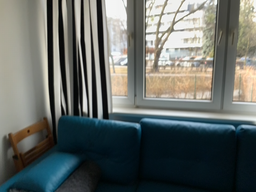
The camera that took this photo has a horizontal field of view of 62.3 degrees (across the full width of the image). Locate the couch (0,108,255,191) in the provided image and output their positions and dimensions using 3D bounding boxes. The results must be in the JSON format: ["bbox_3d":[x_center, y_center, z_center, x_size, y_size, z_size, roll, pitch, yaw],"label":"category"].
[{"bbox_3d":[0.360,0.720,1.420,2.370,0.920,1.010,3,12,14],"label":"couch"}]

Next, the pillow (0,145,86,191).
[{"bbox_3d":[-0.590,0.550,1.560,0.350,0.130,0.520,3,12,16],"label":"pillow"}]

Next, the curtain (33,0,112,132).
[{"bbox_3d":[-0.510,-0.580,1.980,0.630,1.800,0.240,2,12,14],"label":"curtain"}]
